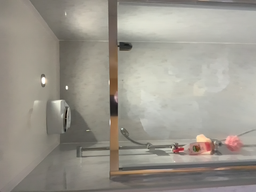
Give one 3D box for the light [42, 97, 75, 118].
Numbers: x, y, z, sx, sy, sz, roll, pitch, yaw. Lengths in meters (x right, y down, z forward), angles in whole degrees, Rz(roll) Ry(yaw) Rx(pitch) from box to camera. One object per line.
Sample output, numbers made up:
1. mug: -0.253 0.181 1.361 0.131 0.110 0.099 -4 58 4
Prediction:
1. light: -0.520 0.080 1.630 0.170 0.120 0.360 0 3 -7
